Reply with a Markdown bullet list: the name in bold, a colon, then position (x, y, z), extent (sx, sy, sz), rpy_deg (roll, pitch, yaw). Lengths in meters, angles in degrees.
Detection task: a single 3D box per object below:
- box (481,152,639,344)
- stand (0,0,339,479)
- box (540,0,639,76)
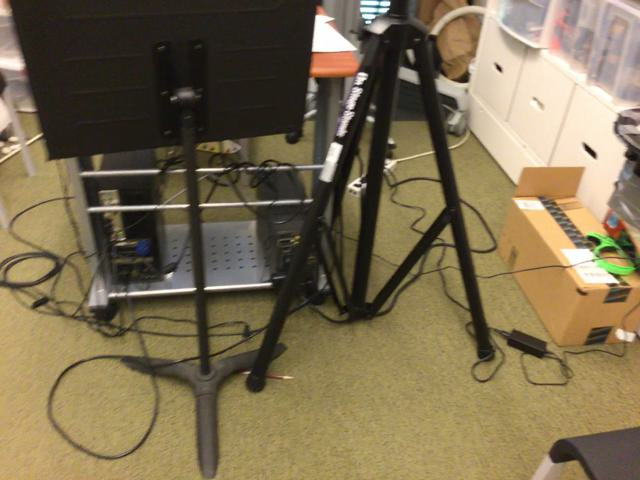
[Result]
- **box**: position (0.780, 0.000, 1.820), extent (0.280, 0.340, 0.560), rpy_deg (-1, 34, -8)
- **stand**: position (-0.290, 0.010, 1.170), extent (0.520, 1.000, 0.350), rpy_deg (-1, 34, -9)
- **box**: position (1.000, -0.730, 1.930), extent (0.340, 0.260, 0.320), rpy_deg (-1, 34, -8)
